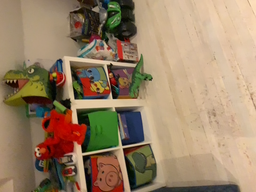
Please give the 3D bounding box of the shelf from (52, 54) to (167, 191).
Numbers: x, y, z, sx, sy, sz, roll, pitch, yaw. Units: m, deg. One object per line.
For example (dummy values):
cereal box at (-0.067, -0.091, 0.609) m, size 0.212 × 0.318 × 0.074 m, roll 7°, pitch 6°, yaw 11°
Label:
shelf at (-0.190, 0.270, 1.920) m, size 0.370 × 0.740 × 1.180 m, roll -33°, pitch 65°, yaw 49°
